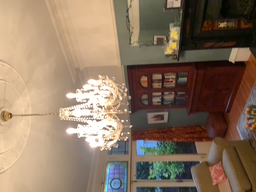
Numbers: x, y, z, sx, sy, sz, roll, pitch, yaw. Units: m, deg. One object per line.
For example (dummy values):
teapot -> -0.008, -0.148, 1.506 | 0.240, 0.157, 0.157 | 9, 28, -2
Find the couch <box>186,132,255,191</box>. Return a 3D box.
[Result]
couch -> 1.640, 1.480, 3.720 | 1.250, 0.890, 1.090 | -87, -6, -48
